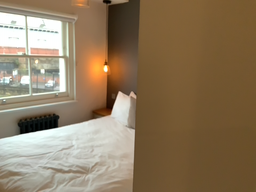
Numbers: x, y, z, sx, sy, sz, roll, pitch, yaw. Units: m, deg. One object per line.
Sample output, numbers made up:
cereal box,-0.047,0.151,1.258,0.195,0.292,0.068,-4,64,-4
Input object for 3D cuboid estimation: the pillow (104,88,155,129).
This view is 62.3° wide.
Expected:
pillow,0.010,0.150,2.890,0.610,0.380,0.250,12,38,42
